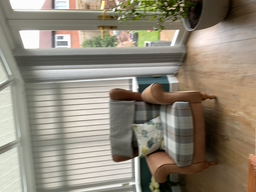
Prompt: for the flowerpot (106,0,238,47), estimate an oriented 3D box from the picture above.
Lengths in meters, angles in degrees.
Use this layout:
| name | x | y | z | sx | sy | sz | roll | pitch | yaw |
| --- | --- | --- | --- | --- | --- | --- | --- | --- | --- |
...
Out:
| name | x | y | z | sx | sy | sz | roll | pitch | yaw |
| --- | --- | --- | --- | --- | --- | --- | --- | --- | --- |
| flowerpot | 0.350 | -0.830 | 1.960 | 0.370 | 1.030 | 0.630 | 112 | 152 | -65 |
